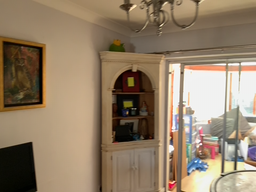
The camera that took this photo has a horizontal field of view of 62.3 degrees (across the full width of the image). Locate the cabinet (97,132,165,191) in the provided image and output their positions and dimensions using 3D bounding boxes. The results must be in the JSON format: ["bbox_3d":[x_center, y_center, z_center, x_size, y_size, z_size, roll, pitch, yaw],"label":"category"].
[{"bbox_3d":[0.070,1.060,2.910,0.560,0.900,0.830,4,5,34],"label":"cabinet"}]

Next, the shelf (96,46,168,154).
[{"bbox_3d":[0.080,0.020,2.840,0.560,1.190,0.850,4,5,34],"label":"shelf"}]
